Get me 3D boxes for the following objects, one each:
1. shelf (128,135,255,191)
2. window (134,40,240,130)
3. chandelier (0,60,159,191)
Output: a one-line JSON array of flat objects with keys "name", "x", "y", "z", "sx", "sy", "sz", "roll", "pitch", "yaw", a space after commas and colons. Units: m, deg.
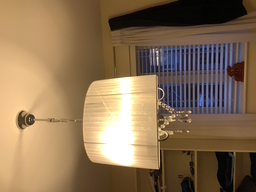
[{"name": "shelf", "x": 1.040, "y": 0.960, "z": 2.220, "sx": 0.270, "sy": 2.030, "sz": 1.020, "roll": -40, "pitch": -51, "yaw": -77}, {"name": "window", "x": 0.630, "y": -0.090, "z": 2.350, "sx": 0.060, "sy": 1.080, "sz": 0.950, "roll": -51, "pitch": -41, "yaw": -75}, {"name": "chandelier", "x": -0.190, "y": 0.100, "z": 0.960, "sx": 0.430, "sy": 0.640, "sz": 0.440, "roll": -61, "pitch": -31, "yaw": -71}]
